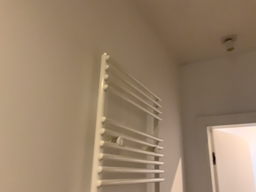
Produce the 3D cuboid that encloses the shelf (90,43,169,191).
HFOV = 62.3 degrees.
[{"bbox_3d":[0.050,0.510,0.960,0.120,1.330,0.620,-7,-21,24],"label":"shelf"}]
